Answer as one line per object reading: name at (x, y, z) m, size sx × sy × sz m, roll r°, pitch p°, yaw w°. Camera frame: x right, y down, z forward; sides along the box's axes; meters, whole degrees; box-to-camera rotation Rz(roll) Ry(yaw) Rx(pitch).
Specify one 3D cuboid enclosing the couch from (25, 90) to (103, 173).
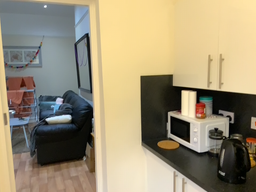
couch at (-1.350, 0.480, 4.130) m, size 1.090 × 0.940 × 2.070 m, roll -4°, pitch 8°, yaw -25°

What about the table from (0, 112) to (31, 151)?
table at (-2.350, 0.700, 4.430) m, size 0.510 × 0.580 × 0.700 m, roll -4°, pitch 8°, yaw -22°

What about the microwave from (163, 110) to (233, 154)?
microwave at (0.590, 0.290, 1.860) m, size 0.370 × 0.220 × 0.450 m, roll -4°, pitch 8°, yaw -21°
